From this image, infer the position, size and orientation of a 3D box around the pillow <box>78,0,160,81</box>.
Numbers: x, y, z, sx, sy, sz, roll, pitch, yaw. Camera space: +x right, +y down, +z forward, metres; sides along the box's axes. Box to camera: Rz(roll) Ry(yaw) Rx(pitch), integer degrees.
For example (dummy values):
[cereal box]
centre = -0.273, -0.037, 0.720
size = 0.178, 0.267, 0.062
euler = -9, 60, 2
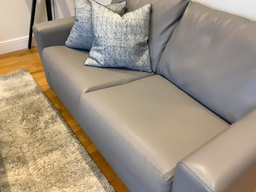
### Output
[pillow]
centre = -0.070, -0.380, 1.420
size = 0.420, 0.440, 0.110
euler = 19, 23, -3
